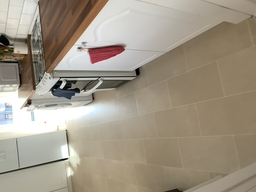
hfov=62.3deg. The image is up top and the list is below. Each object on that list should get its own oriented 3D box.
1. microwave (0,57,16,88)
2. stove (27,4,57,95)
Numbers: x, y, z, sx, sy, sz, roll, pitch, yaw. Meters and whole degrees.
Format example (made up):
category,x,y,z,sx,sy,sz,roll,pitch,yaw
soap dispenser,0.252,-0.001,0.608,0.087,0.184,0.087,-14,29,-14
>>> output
category,x,y,z,sx,sy,sz,roll,pitch,yaw
microwave,-1.720,-0.310,2.930,0.440,0.240,0.350,-10,85,56
stove,-0.820,-0.390,1.970,0.570,0.090,0.660,-18,78,55
